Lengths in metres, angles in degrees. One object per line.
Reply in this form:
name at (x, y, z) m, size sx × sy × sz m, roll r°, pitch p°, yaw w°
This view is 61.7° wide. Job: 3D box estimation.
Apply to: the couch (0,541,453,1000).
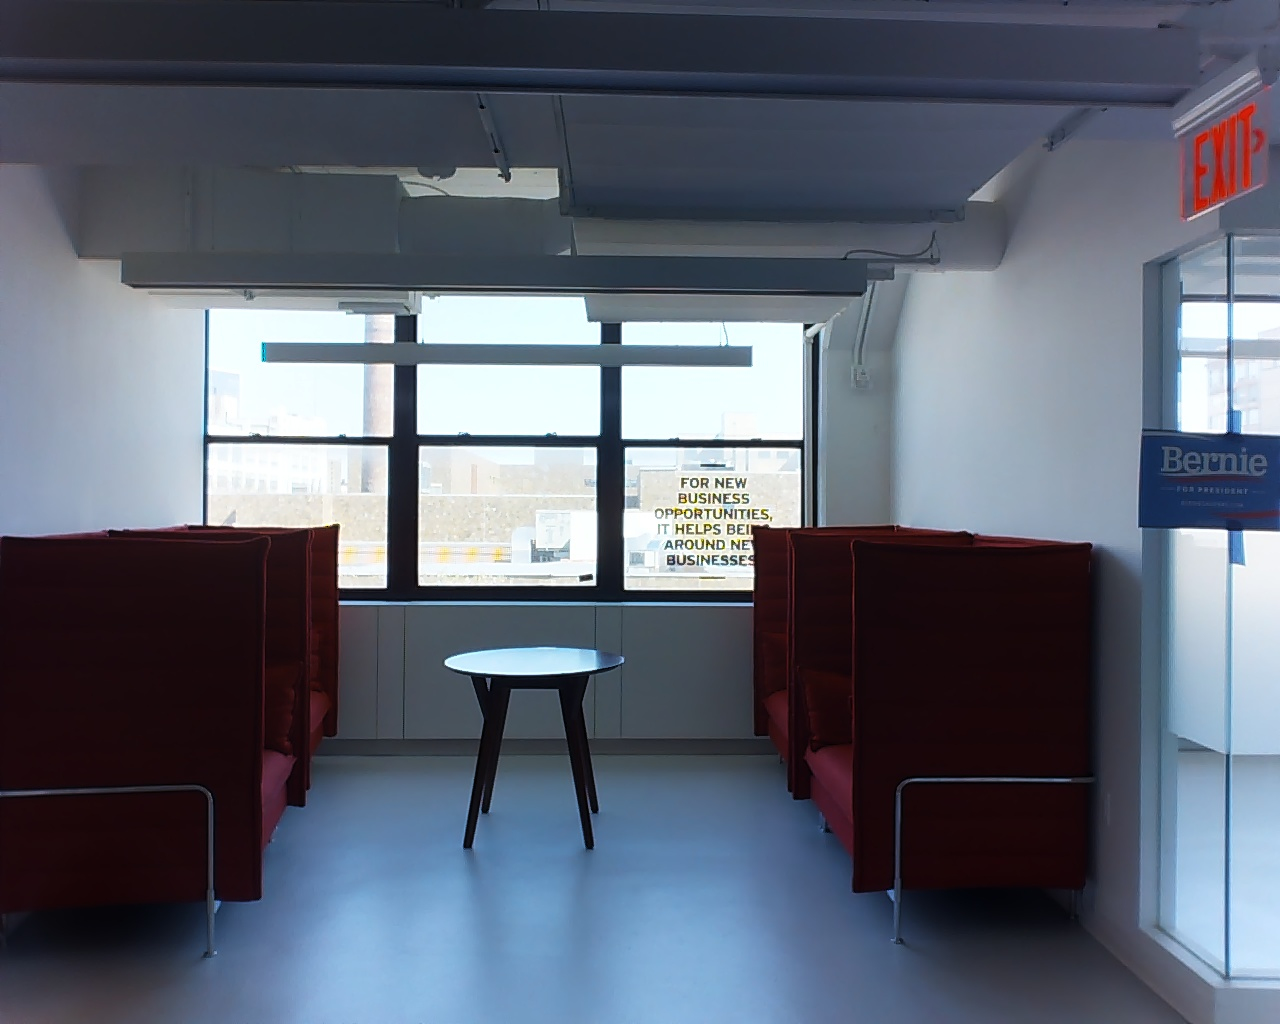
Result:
couch at (-1.280, 0.740, 3.520) m, size 1.290 × 1.260 × 0.870 m, roll 1°, pitch 0°, yaw -9°
